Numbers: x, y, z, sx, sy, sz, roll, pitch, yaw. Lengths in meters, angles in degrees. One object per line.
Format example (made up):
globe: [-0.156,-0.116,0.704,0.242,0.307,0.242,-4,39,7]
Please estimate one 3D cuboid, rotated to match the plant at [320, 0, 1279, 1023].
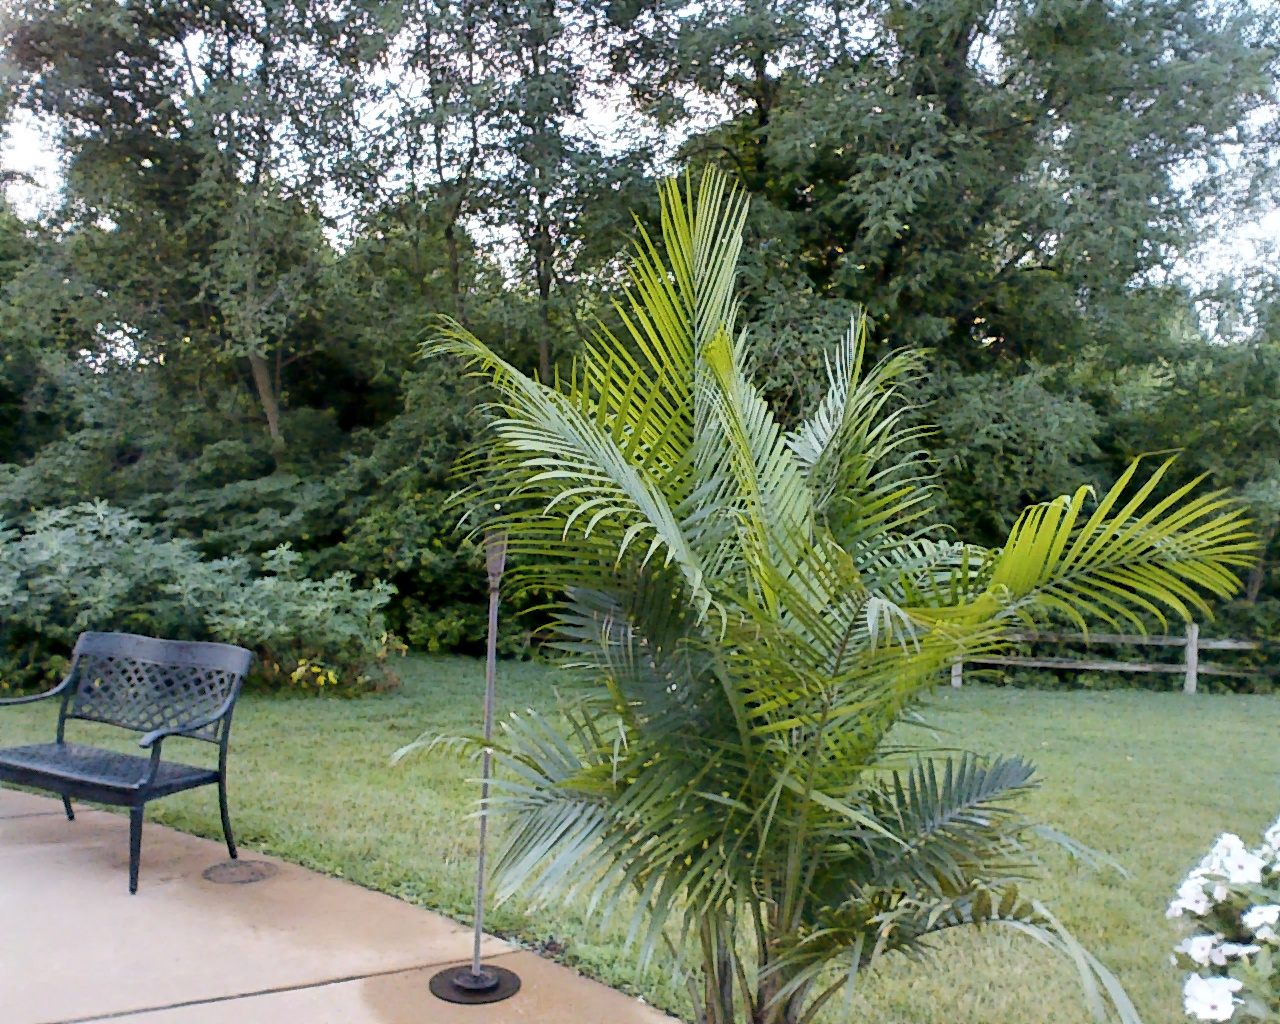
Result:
plant: [0.200,0.380,2.640,1.540,2.411,1.880,1,0,-26]
